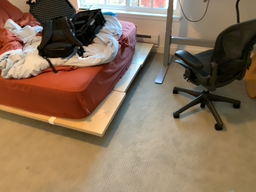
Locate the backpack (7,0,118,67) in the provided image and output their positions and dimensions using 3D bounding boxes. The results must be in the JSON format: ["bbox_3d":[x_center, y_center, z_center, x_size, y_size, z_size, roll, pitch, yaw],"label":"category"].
[{"bbox_3d":[-0.580,-0.770,2.090,0.790,0.450,0.910,-9,40,-8],"label":"backpack"}]
